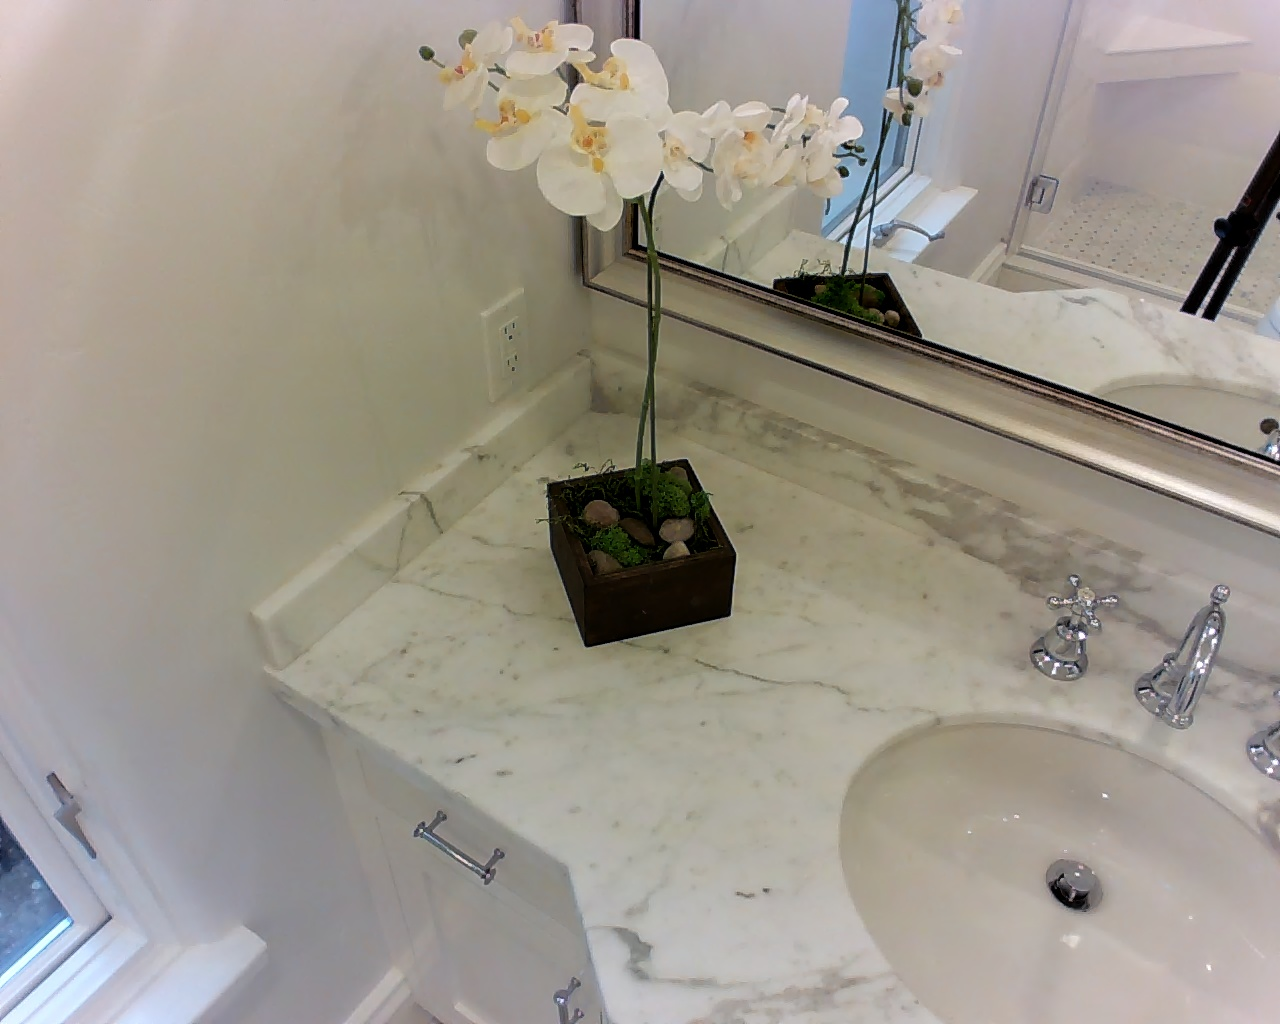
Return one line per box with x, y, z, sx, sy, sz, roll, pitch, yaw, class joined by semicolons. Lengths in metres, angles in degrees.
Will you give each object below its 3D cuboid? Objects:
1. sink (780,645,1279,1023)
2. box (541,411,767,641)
0.390;0.360;0.970;0.420;0.170;0.300;24;48;24;sink
0.010;0.010;1.110;0.180;0.120;0.170;-13;44;-13;box
